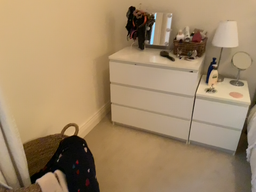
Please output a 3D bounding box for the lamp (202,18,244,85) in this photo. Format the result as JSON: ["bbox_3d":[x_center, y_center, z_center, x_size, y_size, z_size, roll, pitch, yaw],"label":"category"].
[{"bbox_3d":[0.830,-0.400,1.880,0.230,0.510,0.270,11,29,21],"label":"lamp"}]
